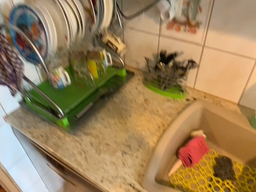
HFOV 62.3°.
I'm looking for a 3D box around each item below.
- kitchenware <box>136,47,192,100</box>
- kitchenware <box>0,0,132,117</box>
[{"bbox_3d":[0.160,-0.110,1.000,0.230,0.160,0.100,24,47,26],"label":"kitchenware"},{"bbox_3d":[-0.220,-0.280,0.920,0.270,0.500,0.470,23,47,25],"label":"kitchenware"}]
